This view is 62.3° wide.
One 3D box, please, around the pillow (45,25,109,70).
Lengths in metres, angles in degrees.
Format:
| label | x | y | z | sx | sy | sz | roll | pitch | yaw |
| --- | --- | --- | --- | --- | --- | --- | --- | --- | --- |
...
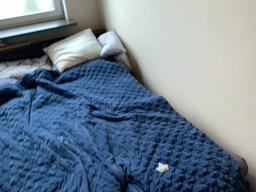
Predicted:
| label | x | y | z | sx | sy | sz | roll | pitch | yaw |
| --- | --- | --- | --- | --- | --- | --- | --- | --- | --- |
| pillow | -0.550 | -0.540 | 2.270 | 0.520 | 0.230 | 0.490 | -19 | 37 | -22 |

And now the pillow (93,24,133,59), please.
| label | x | y | z | sx | sy | sz | roll | pitch | yaw |
| --- | --- | --- | --- | --- | --- | --- | --- | --- | --- |
| pillow | -0.170 | -0.610 | 2.320 | 0.220 | 0.190 | 0.520 | -19 | 37 | -22 |
